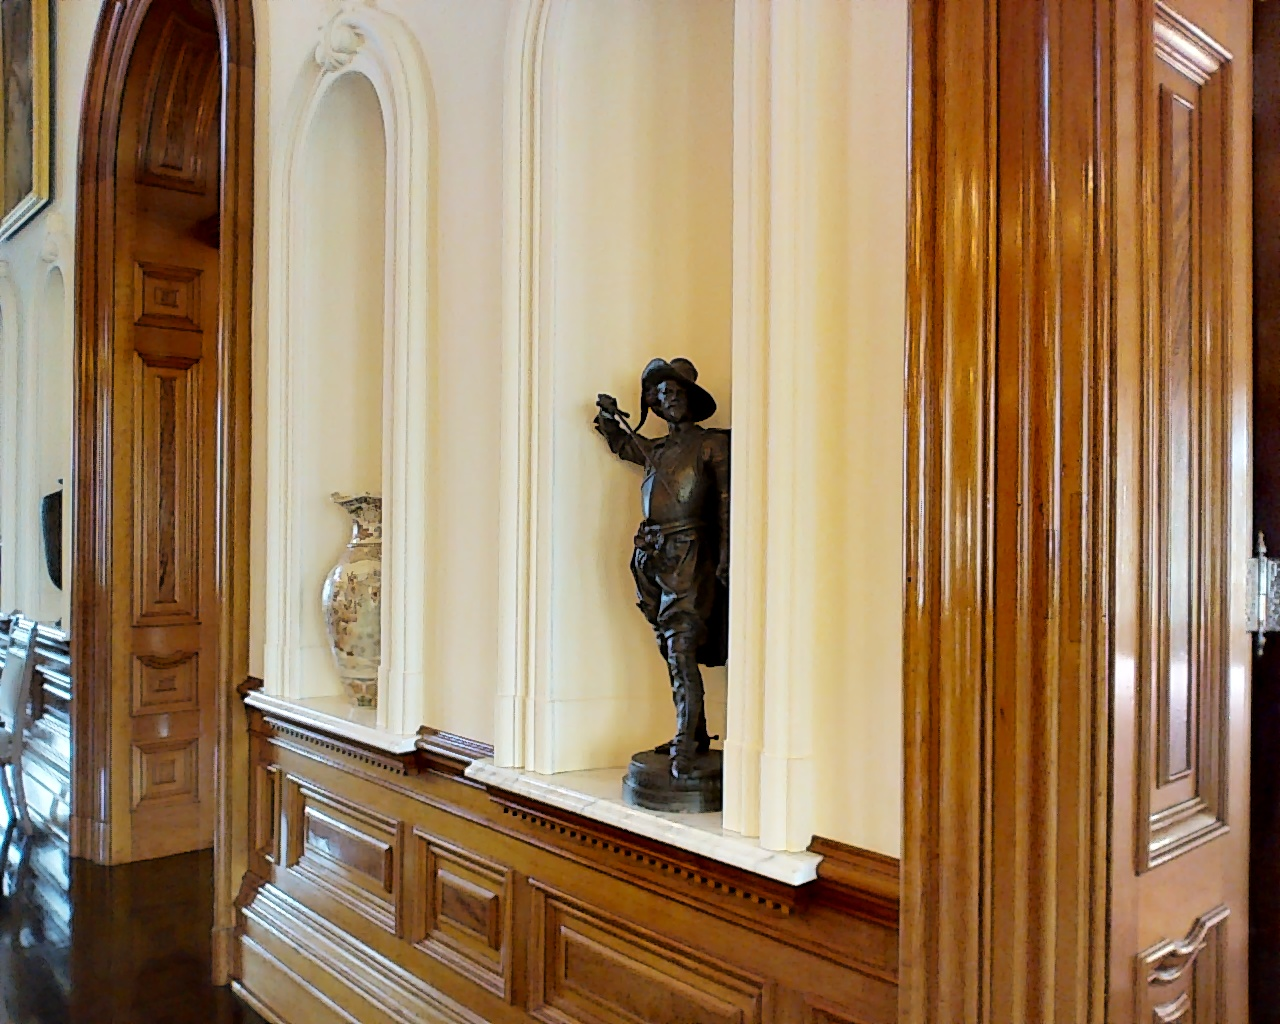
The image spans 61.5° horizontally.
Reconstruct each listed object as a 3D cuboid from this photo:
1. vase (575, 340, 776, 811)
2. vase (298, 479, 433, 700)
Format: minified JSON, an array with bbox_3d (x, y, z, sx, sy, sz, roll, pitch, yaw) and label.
[{"bbox_3d":[0.070,0.120,2.240,0.250,0.890,0.330,1,0,-42],"label":"vase"},{"bbox_3d":[-0.840,0.220,3.280,0.250,0.630,0.370,1,0,-42],"label":"vase"}]
